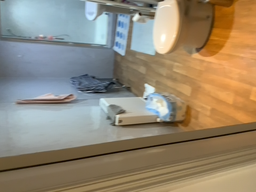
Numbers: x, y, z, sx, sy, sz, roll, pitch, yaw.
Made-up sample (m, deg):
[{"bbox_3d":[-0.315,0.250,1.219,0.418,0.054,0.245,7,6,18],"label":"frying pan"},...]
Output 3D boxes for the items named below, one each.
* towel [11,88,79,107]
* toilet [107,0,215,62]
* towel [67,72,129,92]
[{"bbox_3d":[-1.070,0.000,2.750,0.430,0.760,0.110,-147,59,-60],"label":"towel"},{"bbox_3d":[0.300,-0.700,1.940,0.360,0.840,0.680,-141,53,-57],"label":"toilet"},{"bbox_3d":[-0.560,-0.270,3.720,0.960,0.830,0.130,-147,59,-60],"label":"towel"}]
